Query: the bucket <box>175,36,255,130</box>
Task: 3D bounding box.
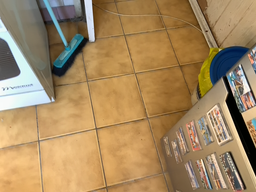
[{"bbox_3d":[0.520,-0.050,1.150,0.340,0.390,0.310,-12,68,-11],"label":"bucket"}]
